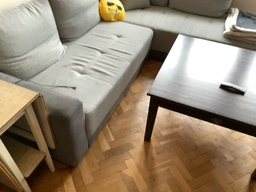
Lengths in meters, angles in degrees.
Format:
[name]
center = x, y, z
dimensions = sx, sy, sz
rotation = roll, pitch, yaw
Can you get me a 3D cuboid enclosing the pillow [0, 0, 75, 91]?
[pillow]
center = -0.740, -0.450, 1.610
dimensions = 0.230, 0.500, 0.690
rotation = 33, 47, 6
